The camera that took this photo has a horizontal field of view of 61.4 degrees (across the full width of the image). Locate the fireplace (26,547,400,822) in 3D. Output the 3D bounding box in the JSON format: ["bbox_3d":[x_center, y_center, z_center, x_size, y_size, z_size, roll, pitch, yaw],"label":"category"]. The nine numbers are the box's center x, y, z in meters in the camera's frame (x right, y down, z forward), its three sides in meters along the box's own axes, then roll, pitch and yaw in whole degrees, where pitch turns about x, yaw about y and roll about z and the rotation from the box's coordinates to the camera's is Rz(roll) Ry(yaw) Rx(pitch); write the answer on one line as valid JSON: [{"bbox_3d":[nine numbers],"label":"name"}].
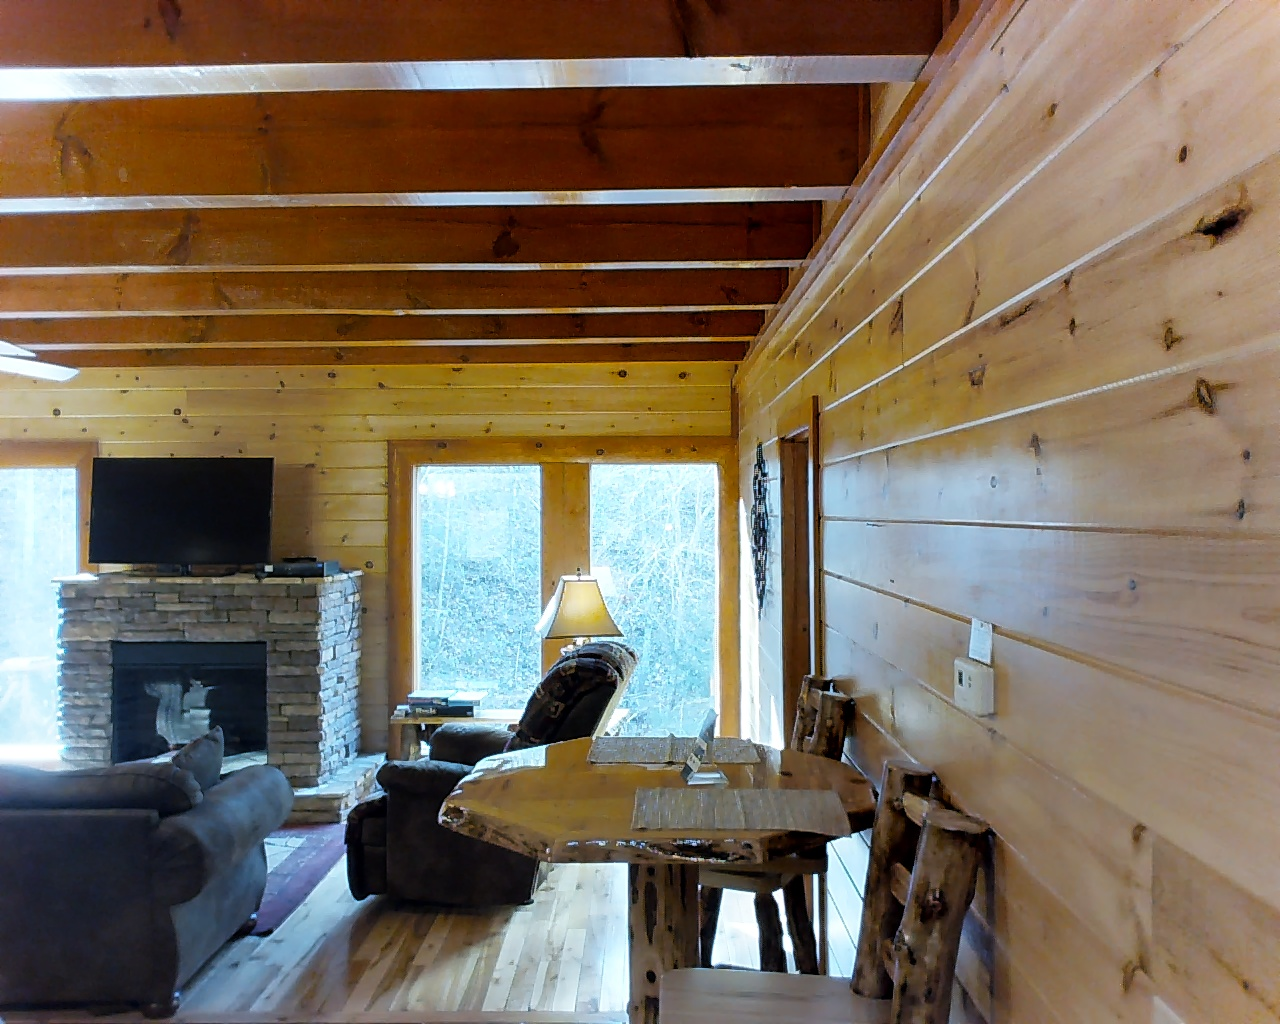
[{"bbox_3d":[-2.539,1.000,6.620,1.869,1.501,1.000,-1,1,1],"label":"fireplace"}]
